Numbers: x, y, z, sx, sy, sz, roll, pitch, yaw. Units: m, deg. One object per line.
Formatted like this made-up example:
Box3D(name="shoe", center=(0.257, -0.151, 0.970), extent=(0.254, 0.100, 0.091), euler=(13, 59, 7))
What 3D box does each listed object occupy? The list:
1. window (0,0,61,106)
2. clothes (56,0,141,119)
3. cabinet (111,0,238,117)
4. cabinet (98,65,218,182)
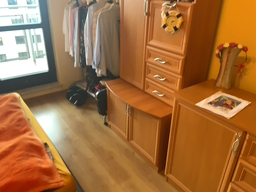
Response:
Box3D(name="window", center=(-1.400, -1.060, 2.630), extent=(0.780, 2.410, 0.200), euler=(-16, 32, -30))
Box3D(name="clothes", center=(-0.410, -0.580, 2.740), extent=(0.490, 1.300, 1.120), euler=(-18, 33, -33))
Box3D(name="cabinet", center=(0.300, -0.750, 1.730), extent=(0.430, 1.500, 0.980), euler=(-17, 33, -31))
Box3D(name="cabinet", center=(0.220, 0.180, 2.190), extent=(0.570, 0.620, 1.060), euler=(-19, 34, -33))
